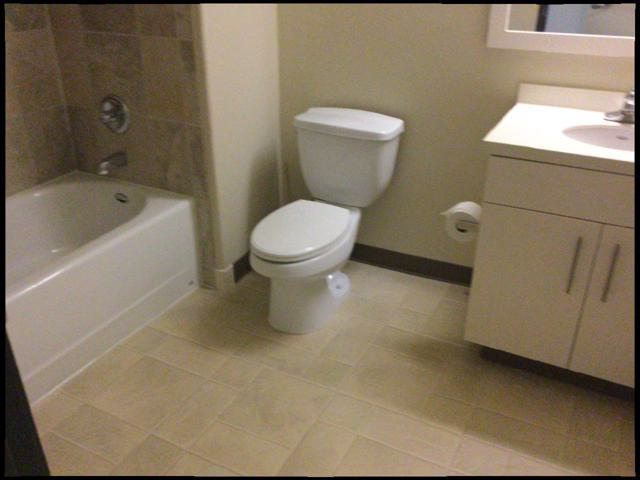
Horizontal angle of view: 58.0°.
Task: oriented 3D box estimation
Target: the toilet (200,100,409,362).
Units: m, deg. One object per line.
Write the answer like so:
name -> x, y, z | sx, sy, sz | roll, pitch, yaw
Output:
toilet -> -0.020, -0.090, 2.460 | 0.489, 0.771, 0.800 | 14, 32, 25

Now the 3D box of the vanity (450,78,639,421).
vanity -> 0.998, 0.010, 2.050 | 0.819, 0.951, 0.600 | 14, 32, 25

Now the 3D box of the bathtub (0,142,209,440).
bathtub -> -1.227, 0.180, 2.190 | 0.769, 0.561, 1.510 | 14, 32, 25
